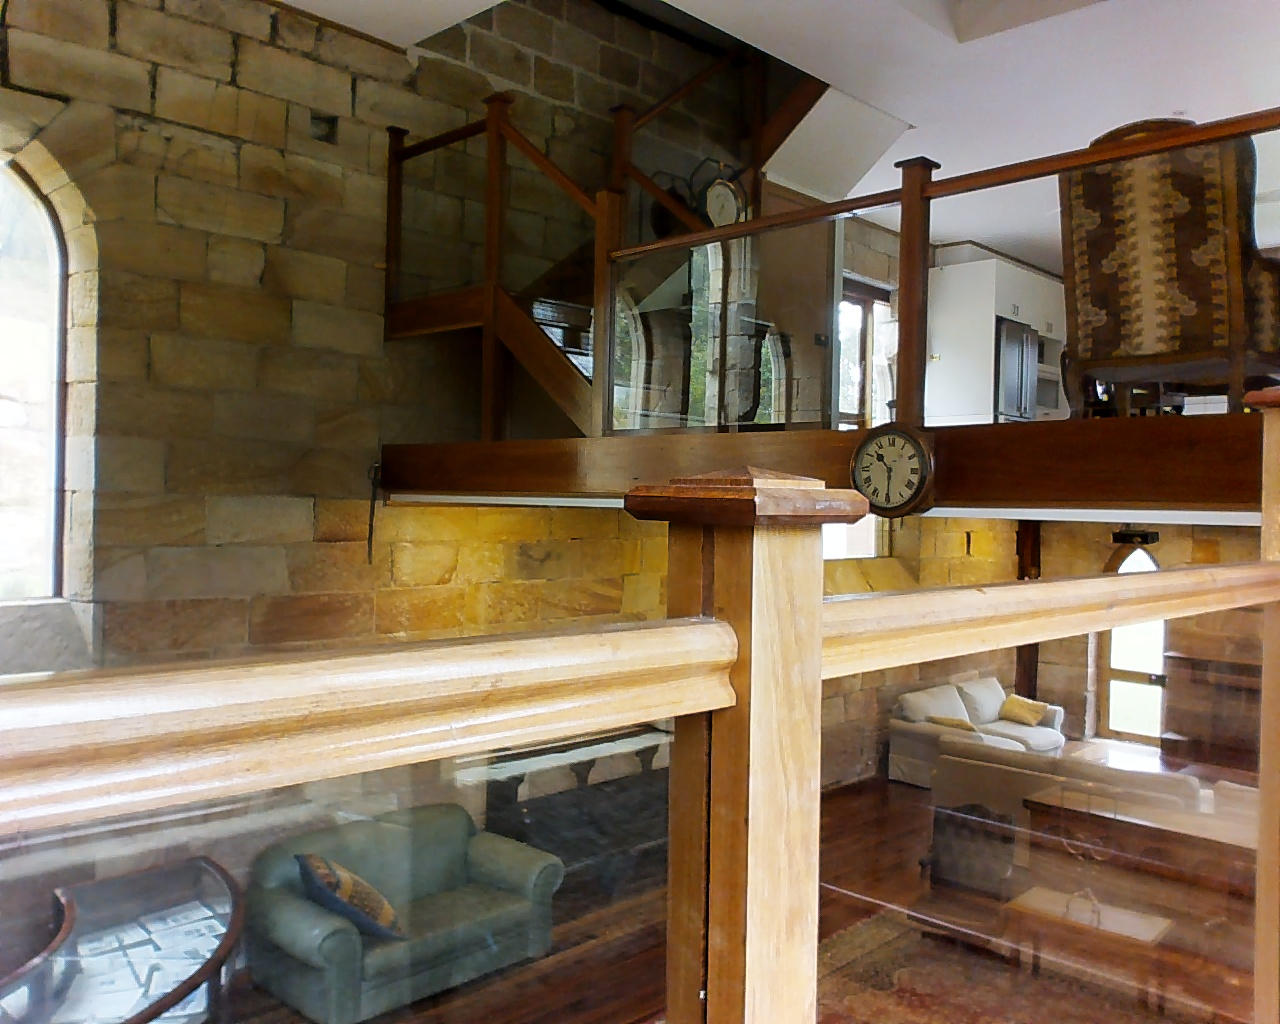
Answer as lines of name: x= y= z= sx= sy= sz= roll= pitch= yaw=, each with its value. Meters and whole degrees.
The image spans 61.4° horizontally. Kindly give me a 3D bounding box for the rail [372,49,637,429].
rail: x=-0.900 y=-1.491 z=6.490 sx=0.280 sy=1.881 sz=2.169 roll=1 pitch=0 yaw=-45
